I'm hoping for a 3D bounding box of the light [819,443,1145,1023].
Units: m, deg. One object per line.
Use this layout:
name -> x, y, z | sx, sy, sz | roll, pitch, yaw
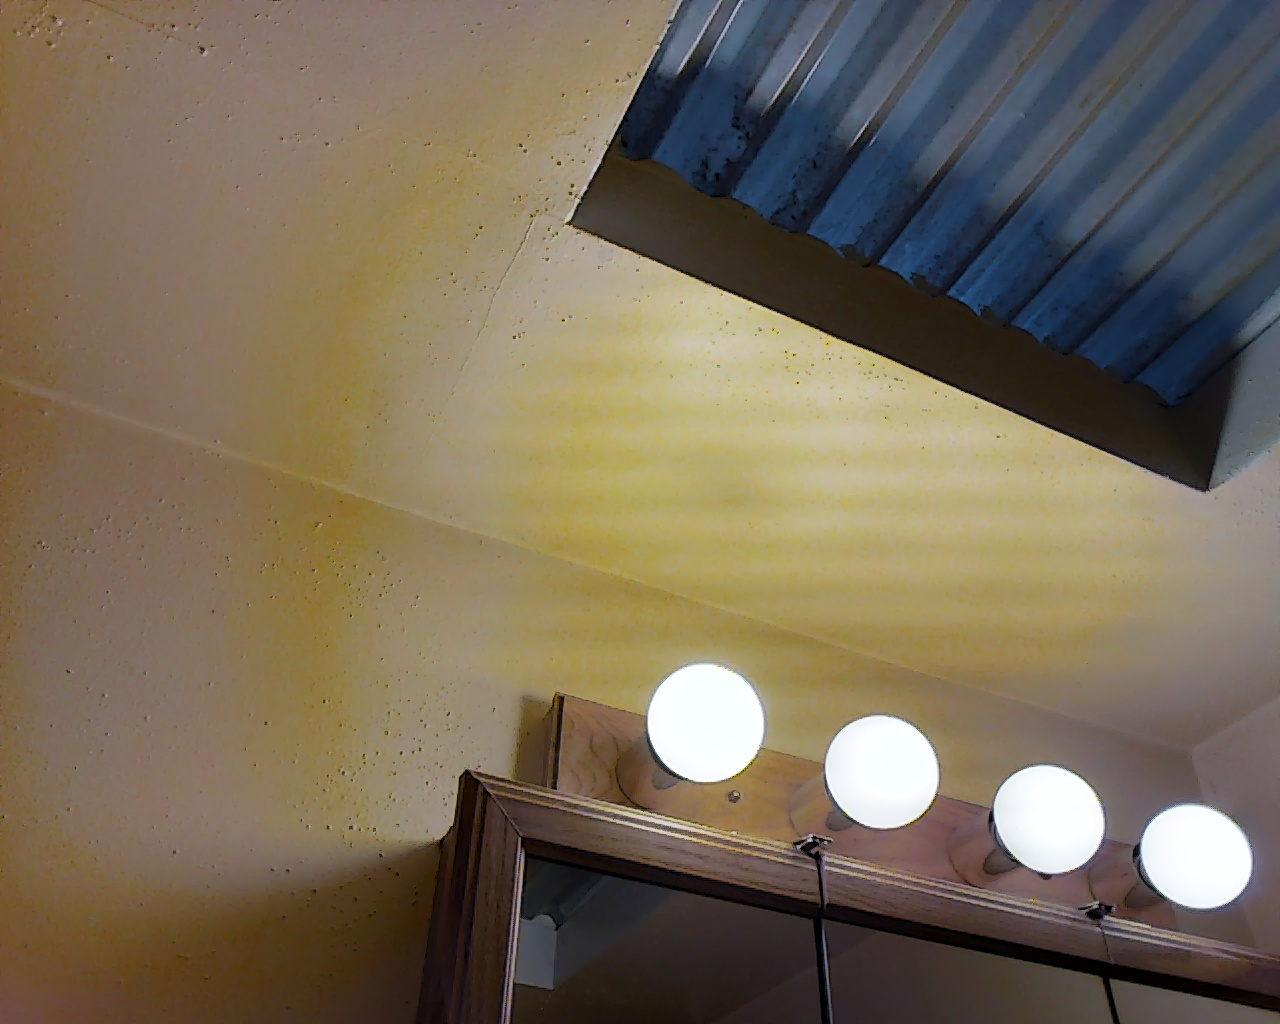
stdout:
light -> 0.260, 0.240, 0.850 | 0.160, 0.660, 0.100 | 19, -43, -18
